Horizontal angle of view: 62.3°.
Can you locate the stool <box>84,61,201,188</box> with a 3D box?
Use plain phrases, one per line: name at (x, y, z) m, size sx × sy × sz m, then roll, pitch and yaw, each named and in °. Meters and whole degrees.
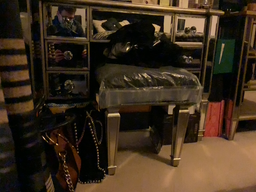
stool at (0.030, 0.090, 1.100) m, size 0.450 × 0.500 × 0.420 m, roll -3°, pitch 14°, yaw -18°
